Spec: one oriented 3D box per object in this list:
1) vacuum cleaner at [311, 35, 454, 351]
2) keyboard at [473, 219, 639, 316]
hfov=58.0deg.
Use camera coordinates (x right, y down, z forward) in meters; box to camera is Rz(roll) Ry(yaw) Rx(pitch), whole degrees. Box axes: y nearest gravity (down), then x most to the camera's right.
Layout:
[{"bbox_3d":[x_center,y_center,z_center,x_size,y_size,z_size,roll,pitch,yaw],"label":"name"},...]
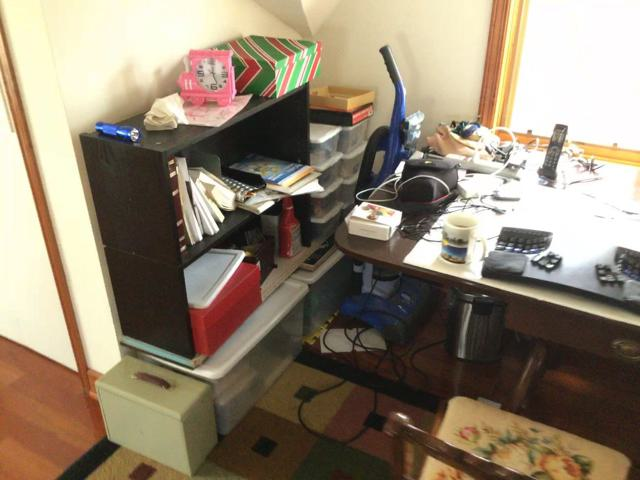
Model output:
[{"bbox_3d":[0.250,-0.160,2.220,0.360,1.110,0.380,12,35,25],"label":"vacuum cleaner"},{"bbox_3d":[0.610,0.060,1.400,0.420,0.060,0.210,12,35,25],"label":"keyboard"}]
